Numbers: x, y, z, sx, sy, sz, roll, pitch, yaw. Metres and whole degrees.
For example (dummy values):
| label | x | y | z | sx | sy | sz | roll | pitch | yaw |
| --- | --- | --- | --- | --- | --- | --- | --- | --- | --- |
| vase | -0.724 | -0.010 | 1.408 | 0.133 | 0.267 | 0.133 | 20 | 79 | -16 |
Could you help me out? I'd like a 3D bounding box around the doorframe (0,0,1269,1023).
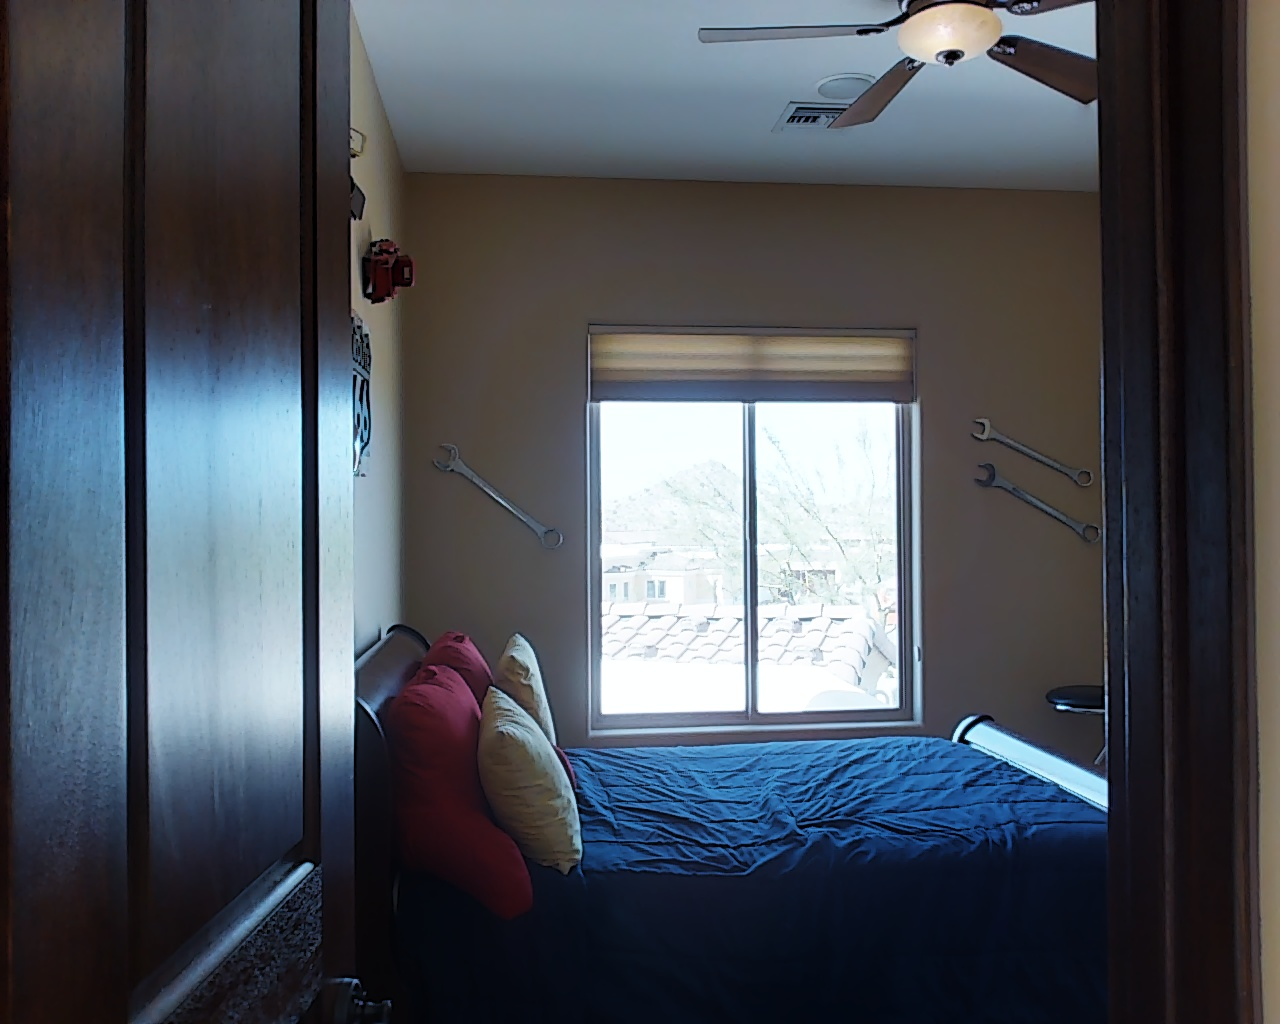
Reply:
| label | x | y | z | sx | sy | sz | roll | pitch | yaw |
| --- | --- | --- | --- | --- | --- | --- | --- | --- | --- |
| doorframe | -0.050 | 0.280 | 0.650 | 0.790 | 2.420 | 0.190 | 0 | 0 | -6 |
